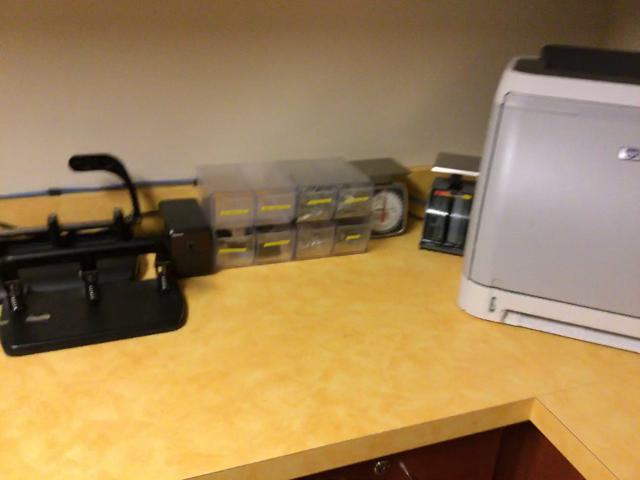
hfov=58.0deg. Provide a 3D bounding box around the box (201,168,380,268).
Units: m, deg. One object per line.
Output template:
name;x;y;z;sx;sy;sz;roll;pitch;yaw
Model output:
box;-0.060;-0.050;1.100;0.300;0.120;0.160;-6;23;-19

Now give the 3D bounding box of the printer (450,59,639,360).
printer;0.490;-0.090;1.010;0.410;0.380;0.470;10;23;18
